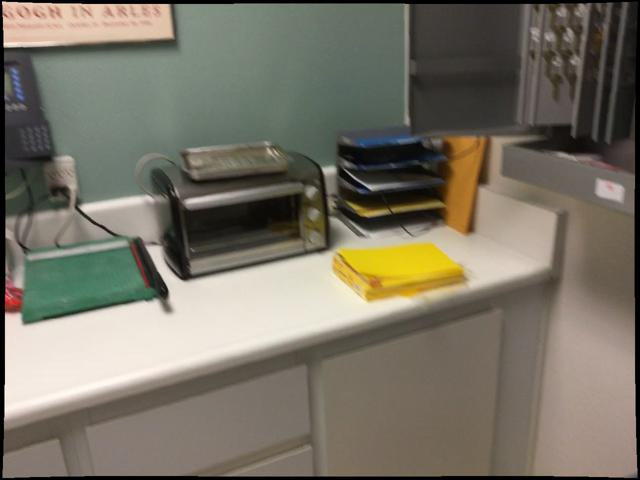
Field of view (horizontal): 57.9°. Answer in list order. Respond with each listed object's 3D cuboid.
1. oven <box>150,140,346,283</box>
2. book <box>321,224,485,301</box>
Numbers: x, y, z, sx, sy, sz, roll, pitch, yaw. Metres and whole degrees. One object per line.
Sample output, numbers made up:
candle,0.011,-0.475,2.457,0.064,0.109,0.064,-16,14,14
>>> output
oven,-0.220,-0.110,1.750,0.480,0.270,0.360,-11,23,-23
book,0.220,0.050,1.590,0.340,0.050,0.290,-11,23,-23
